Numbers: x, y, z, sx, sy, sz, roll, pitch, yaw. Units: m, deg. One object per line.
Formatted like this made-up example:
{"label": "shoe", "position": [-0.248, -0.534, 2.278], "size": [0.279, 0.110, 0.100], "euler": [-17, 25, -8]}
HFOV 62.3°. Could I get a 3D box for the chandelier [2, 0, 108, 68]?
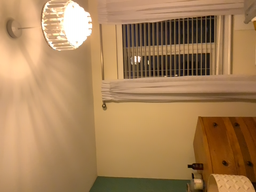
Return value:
{"label": "chandelier", "position": [-0.360, -0.370, 1.160], "size": [0.330, 0.420, 0.330], "euler": [53, 36, -76]}
